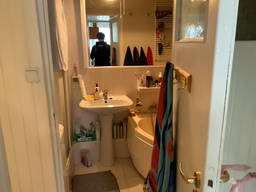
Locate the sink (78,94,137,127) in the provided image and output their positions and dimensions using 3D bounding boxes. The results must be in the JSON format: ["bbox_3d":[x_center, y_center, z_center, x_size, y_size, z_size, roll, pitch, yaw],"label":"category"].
[{"bbox_3d":[-0.250,0.150,2.490,0.620,0.220,0.480,-2,15,-9],"label":"sink"}]
